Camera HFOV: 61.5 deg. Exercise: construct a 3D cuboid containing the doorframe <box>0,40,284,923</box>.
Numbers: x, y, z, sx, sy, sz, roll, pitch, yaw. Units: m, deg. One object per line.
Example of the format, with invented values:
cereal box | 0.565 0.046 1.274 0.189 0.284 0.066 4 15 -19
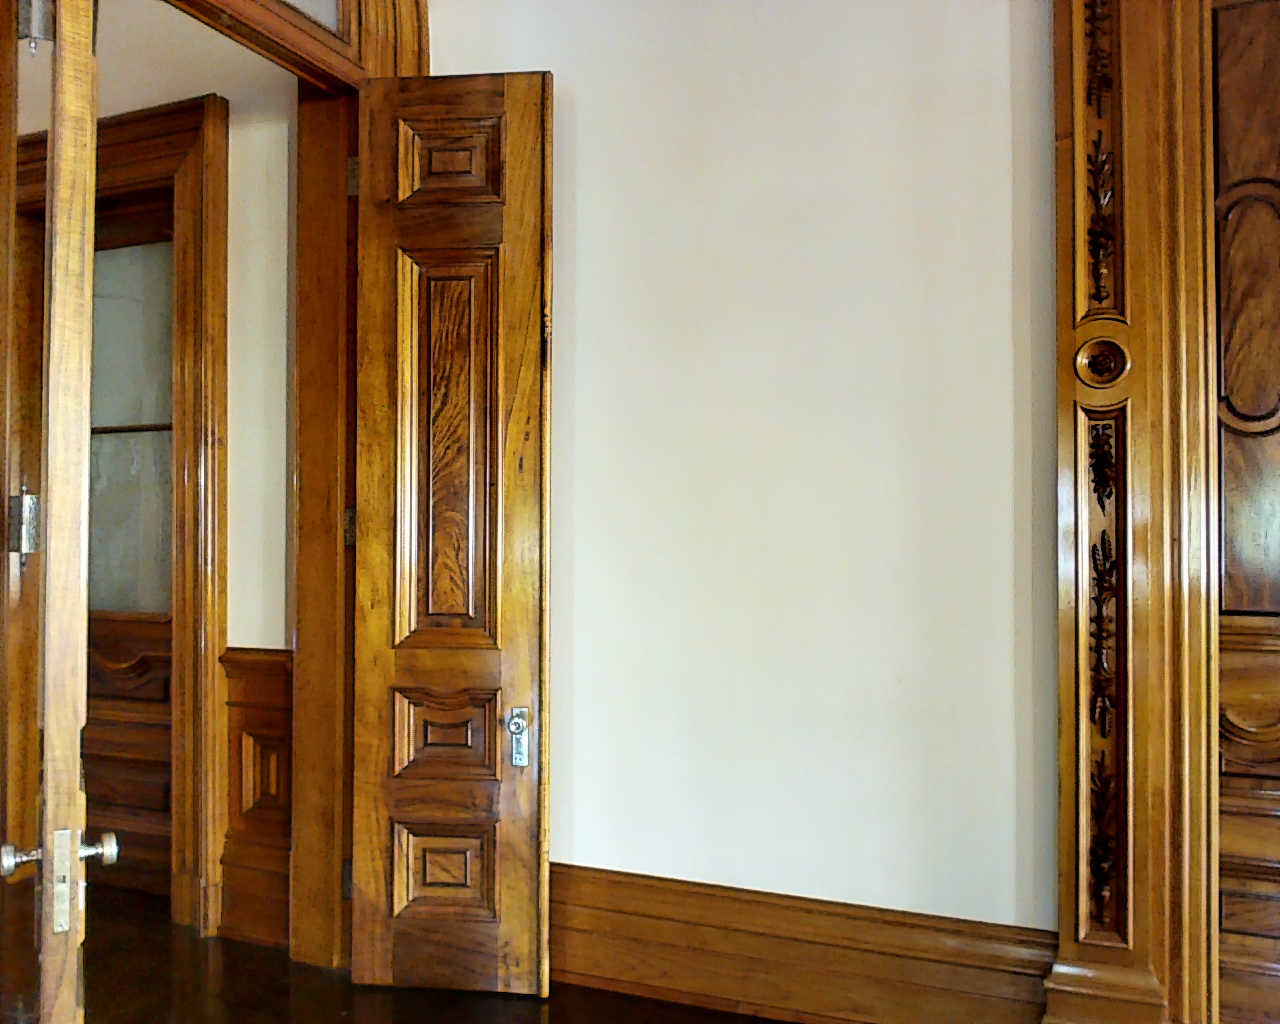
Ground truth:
doorframe | -2.120 -0.110 4.190 1.570 3.080 0.290 -1 -1 23
